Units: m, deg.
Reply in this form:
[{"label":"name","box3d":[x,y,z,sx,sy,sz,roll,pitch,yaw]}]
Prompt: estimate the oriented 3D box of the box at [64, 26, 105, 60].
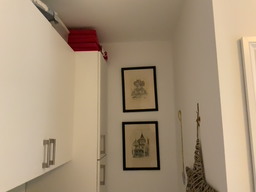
[{"label":"box","box3d":[-0.400,-0.490,2.020,0.310,0.200,0.340,-1,-7,1]}]
